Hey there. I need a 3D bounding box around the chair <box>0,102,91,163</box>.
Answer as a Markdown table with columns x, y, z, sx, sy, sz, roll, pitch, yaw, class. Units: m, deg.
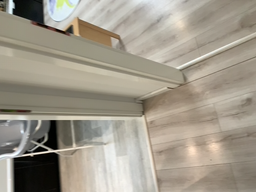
| x | y | z | sx | sy | sz | roll | pitch | yaw | class |
| --- | --- | --- | --- | --- | --- | --- | --- | --- | --- |
| -0.940 | 0.390 | 2.230 | 0.570 | 0.850 | 0.450 | -25 | 68 | 39 | chair |
